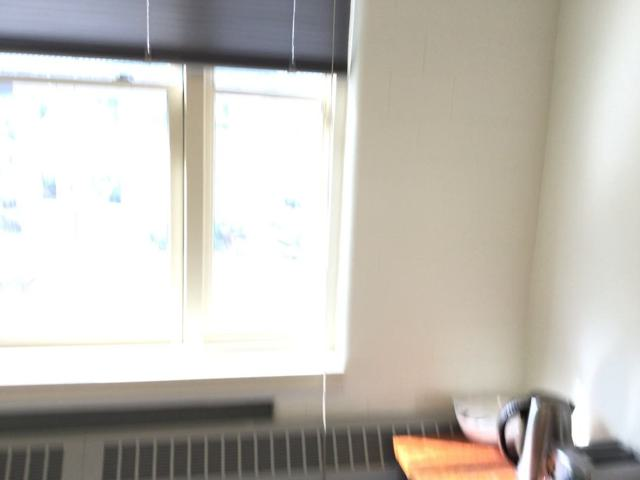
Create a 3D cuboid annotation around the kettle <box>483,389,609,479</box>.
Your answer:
[{"bbox_3d":[0.620,0.540,1.600,0.260,0.190,0.160,2,9,-13],"label":"kettle"}]
